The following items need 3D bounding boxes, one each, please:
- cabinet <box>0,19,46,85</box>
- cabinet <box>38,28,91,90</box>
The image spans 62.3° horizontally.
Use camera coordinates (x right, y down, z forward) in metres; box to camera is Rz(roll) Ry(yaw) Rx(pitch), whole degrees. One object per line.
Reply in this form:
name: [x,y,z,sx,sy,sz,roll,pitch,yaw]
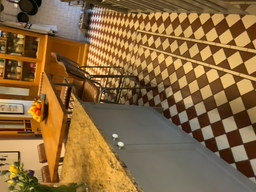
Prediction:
cabinet: [-2.300,-0.830,3.920,0.350,1.300,1.070,40,120,55]
cabinet: [-1.340,-0.750,4.390,0.480,0.820,1.070,40,120,55]
